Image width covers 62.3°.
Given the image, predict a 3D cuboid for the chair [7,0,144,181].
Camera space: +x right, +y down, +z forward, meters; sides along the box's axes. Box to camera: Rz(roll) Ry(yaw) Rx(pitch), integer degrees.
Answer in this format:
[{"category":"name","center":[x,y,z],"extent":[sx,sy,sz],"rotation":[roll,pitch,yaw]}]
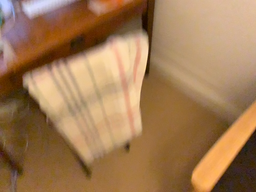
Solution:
[{"category":"chair","center":[-0.200,0.030,1.090],"extent":[0.340,0.860,0.410],"rotation":[-28,56,-21]}]
